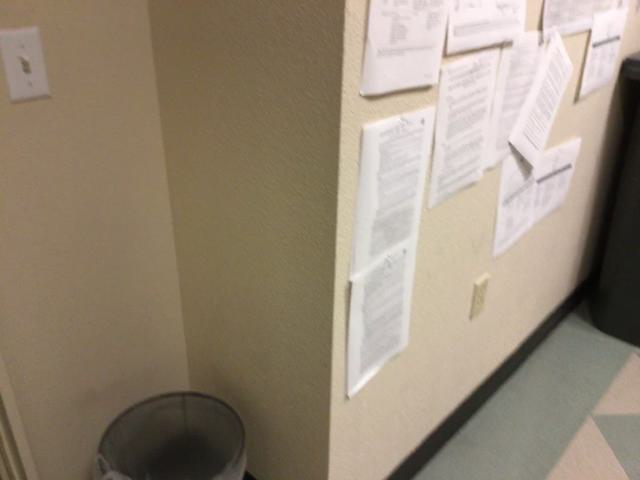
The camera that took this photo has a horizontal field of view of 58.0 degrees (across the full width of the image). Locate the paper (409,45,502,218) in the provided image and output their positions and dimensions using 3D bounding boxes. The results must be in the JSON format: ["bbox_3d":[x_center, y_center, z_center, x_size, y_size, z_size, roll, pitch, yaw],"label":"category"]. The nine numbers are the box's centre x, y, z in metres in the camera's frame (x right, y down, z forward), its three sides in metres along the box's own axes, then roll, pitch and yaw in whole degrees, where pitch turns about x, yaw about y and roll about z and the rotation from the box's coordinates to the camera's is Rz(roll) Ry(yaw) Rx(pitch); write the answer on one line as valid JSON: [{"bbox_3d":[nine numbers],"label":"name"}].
[{"bbox_3d":[0.260,-0.210,1.110,0.020,0.290,0.230,25,37,36],"label":"paper"}]

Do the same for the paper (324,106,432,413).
[{"bbox_3d":[0.100,0.050,1.060,0.020,0.550,0.230,25,37,36],"label":"paper"}]

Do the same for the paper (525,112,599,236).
[{"bbox_3d":[0.680,-0.190,1.620,0.010,0.280,0.320,25,37,36],"label":"paper"}]

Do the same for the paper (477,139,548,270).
[{"bbox_3d":[0.480,-0.090,1.440,0.020,0.280,0.230,25,37,36],"label":"paper"}]

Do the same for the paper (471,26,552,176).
[{"bbox_3d":[0.410,-0.300,1.240,0.020,0.280,0.220,25,37,36],"label":"paper"}]

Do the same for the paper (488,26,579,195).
[{"bbox_3d":[0.490,-0.300,1.330,0.030,0.340,0.250,25,37,36],"label":"paper"}]
